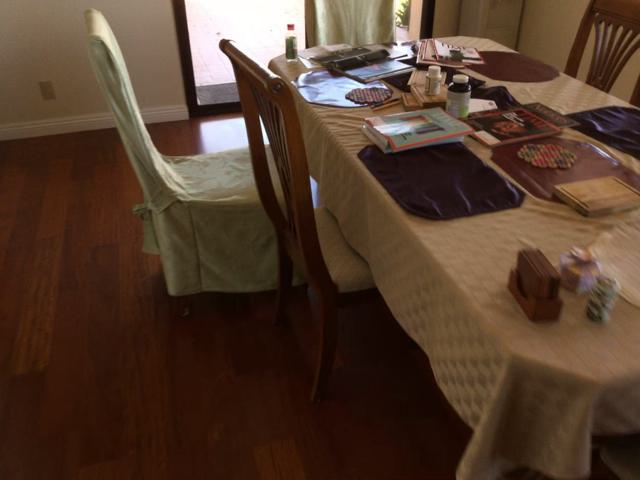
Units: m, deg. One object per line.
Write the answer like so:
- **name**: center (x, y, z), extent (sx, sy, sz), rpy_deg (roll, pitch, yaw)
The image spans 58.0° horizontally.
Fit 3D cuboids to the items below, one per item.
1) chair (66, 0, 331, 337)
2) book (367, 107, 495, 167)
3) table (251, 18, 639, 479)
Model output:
- **chair**: center (-0.400, -0.310, 2.160), extent (0.720, 1.070, 0.590), rpy_deg (-10, 31, -12)
- **book**: center (0.320, -0.310, 1.710), extent (0.310, 0.070, 0.210), rpy_deg (-10, 31, -12)
- **table**: center (0.570, -0.090, 2.030), extent (1.190, 0.890, 2.190), rpy_deg (-10, 31, -12)
